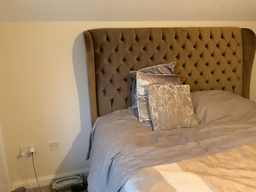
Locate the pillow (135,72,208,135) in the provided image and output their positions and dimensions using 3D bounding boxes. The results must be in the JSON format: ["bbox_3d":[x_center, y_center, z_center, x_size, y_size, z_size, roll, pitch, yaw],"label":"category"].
[{"bbox_3d":[0.400,0.060,2.000,0.540,0.490,0.210,-8,-15,-22],"label":"pillow"}]

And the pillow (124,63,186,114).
[{"bbox_3d":[0.270,-0.080,2.170,0.510,0.420,0.220,-8,-9,-20],"label":"pillow"}]
